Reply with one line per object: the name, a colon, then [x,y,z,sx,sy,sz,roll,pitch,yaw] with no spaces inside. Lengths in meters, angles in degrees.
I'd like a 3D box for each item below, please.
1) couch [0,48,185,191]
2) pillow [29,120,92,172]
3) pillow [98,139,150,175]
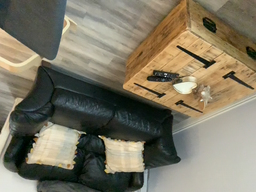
couch: [-0.400,0.470,2.340,1.680,0.930,1.060,21,147,-22]
pillow: [-0.700,0.520,2.230,0.510,0.410,0.200,20,164,-22]
pillow: [-0.020,0.720,2.480,0.490,0.260,0.490,-1,148,13]
